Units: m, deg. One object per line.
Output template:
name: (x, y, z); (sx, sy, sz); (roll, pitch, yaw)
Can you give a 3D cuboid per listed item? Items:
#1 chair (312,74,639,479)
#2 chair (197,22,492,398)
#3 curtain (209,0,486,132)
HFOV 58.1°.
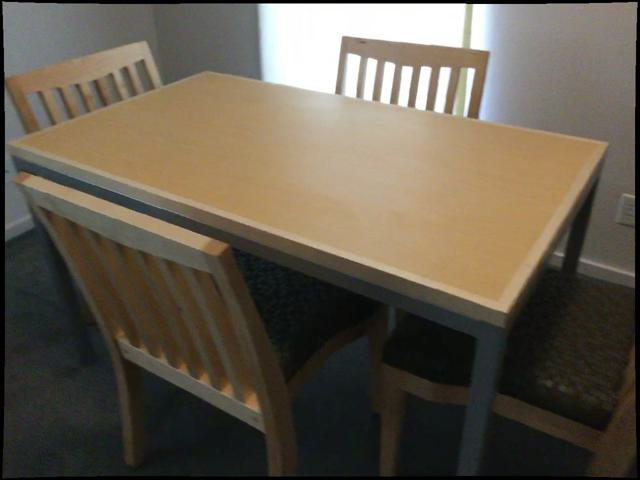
chair: (0.489, 0.201, 1.340); (0.719, 0.932, 0.610); (15, 38, 29)
chair: (0.170, -0.130, 1.920); (0.569, 0.921, 0.720); (10, 40, 31)
curtain: (0.060, -0.902, 2.220); (1.098, 0.832, 0.250); (13, 37, 34)
